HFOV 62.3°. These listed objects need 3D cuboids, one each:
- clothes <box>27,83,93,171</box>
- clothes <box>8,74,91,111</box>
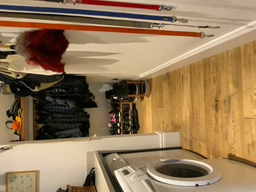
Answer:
[{"bbox_3d":[-1.120,0.470,3.600,0.450,0.970,1.350,177,91,-76],"label":"clothes"},{"bbox_3d":[-1.070,-0.030,3.150,1.320,0.920,0.410,173,95,-76],"label":"clothes"}]
